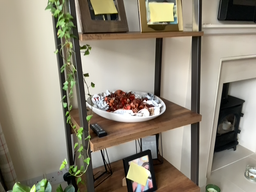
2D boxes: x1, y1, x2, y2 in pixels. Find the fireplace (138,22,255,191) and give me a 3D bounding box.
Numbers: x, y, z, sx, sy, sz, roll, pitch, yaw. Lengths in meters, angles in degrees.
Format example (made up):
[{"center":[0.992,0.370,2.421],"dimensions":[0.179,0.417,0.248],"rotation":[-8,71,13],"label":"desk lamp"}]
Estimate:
[{"center":[0.950,0.040,1.870],"dimensions":[1.450,1.300,0.910],"rotation":[-10,21,-26],"label":"fireplace"}]
